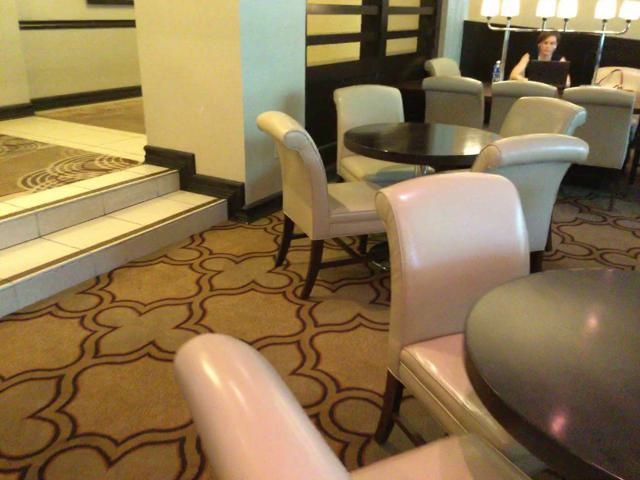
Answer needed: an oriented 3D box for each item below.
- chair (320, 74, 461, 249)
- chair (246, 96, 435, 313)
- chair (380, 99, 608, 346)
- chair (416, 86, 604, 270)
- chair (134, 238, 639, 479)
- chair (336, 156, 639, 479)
[{"bbox_3d":[0.420,-0.570,3.890,0.610,0.950,0.840,-7,23,-16],"label":"chair"},{"bbox_3d":[0.090,-0.230,3.100,0.770,0.930,0.590,-10,24,-23],"label":"chair"},{"bbox_3d":[0.780,-0.160,2.920,0.540,0.920,0.970,-9,24,-19],"label":"chair"},{"bbox_3d":[1.120,-0.420,3.550,0.760,0.900,0.650,-10,24,-23],"label":"chair"},{"bbox_3d":[0.140,0.570,1.060,0.740,0.910,0.540,-10,24,-23],"label":"chair"},{"bbox_3d":[0.470,0.320,1.730,0.560,0.930,0.760,-10,24,-23],"label":"chair"}]
